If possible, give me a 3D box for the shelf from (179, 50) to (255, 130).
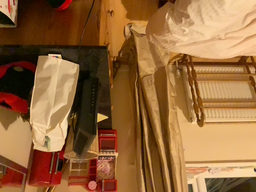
[{"bbox_3d":[0.890,-0.070,1.930,0.710,0.700,0.190,-2,152,0],"label":"shelf"}]
